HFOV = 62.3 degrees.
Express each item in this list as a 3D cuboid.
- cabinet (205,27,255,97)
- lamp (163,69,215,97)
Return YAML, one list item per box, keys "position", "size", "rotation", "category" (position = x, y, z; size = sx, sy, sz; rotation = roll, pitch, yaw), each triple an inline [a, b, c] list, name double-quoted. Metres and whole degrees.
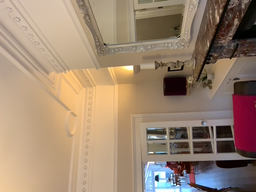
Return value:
- position: [1.630, -0.410, 2.980]
  size: [1.230, 0.750, 0.370]
  rotation: [73, -165, -67]
  category: "cabinet"
- position: [0.990, -0.210, 3.520]
  size: [0.270, 0.760, 0.340]
  rotation: [72, -165, -68]
  category: "lamp"
